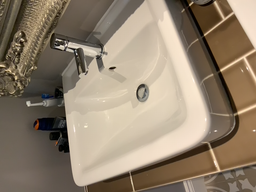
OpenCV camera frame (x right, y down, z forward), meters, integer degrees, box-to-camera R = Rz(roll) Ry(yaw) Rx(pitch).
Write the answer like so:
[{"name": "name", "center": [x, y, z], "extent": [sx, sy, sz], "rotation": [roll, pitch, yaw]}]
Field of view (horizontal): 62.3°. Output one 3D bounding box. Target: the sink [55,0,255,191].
[{"name": "sink", "center": [-0.020, 0.010, 0.660], "extent": [0.580, 0.160, 0.440], "rotation": [-36, 59, 42]}]
